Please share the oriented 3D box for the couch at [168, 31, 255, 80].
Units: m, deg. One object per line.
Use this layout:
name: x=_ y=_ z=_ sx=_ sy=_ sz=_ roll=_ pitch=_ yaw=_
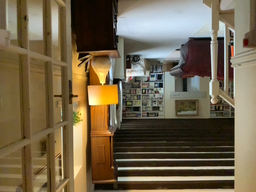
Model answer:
couch: x=2.130 y=-0.830 z=4.680 sx=2.330 sy=0.900 sz=1.080 roll=-1 pitch=-177 yaw=2
